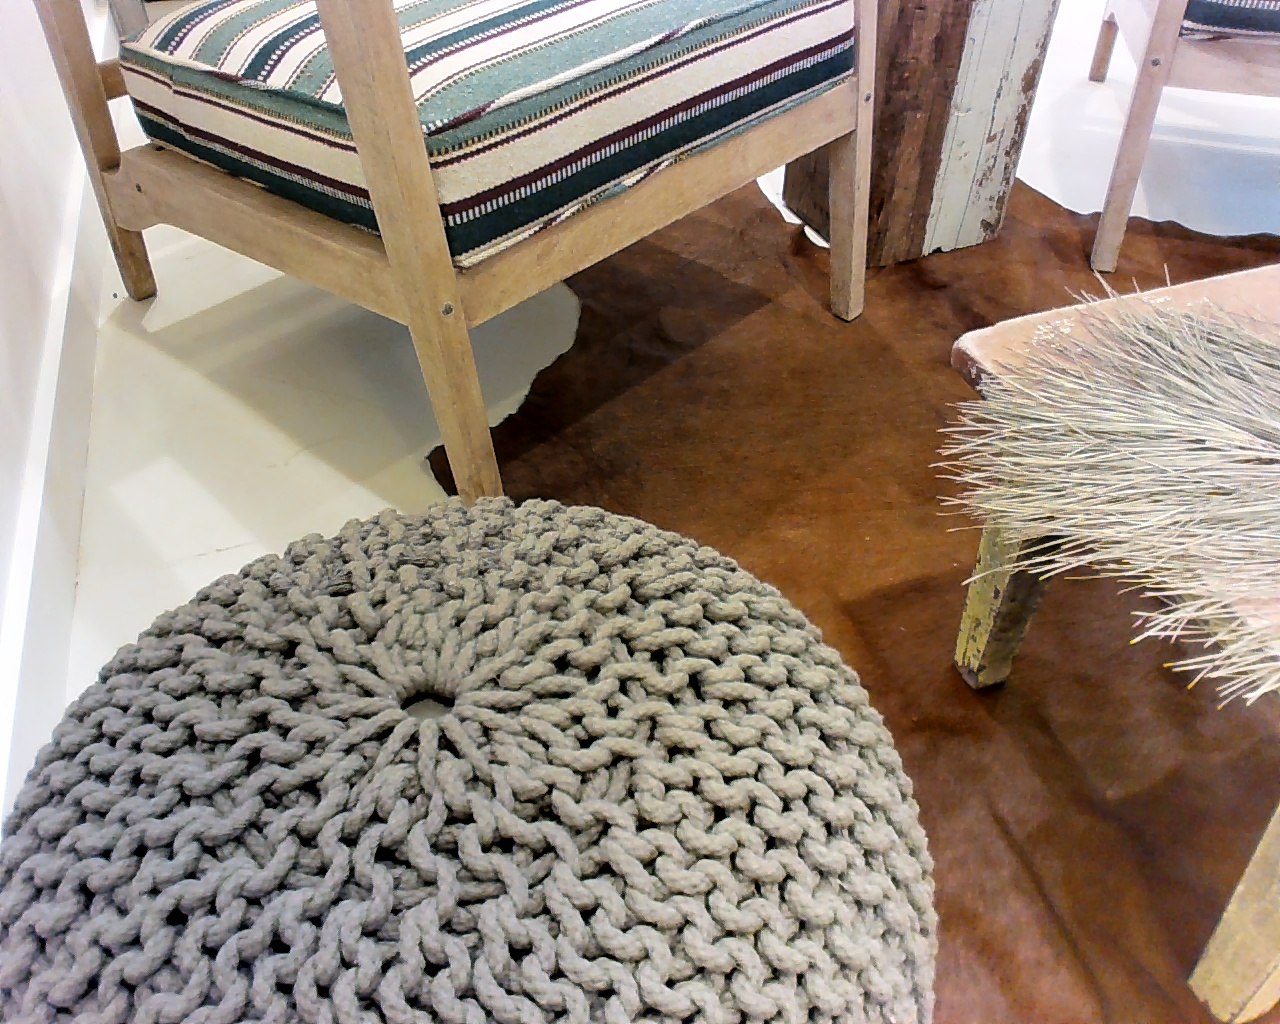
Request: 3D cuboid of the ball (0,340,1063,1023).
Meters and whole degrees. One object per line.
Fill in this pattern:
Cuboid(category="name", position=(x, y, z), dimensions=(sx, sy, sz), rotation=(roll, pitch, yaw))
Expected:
Cuboid(category="ball", position=(-0.100, 0.200, 0.630), dimensions=(0.540, 0.340, 0.520), rotation=(3, 43, 4))

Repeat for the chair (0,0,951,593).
Cuboid(category="chair", position=(-0.210, -0.570, 1.170), dimensions=(0.830, 0.770, 0.700), rotation=(32, 52, 31))

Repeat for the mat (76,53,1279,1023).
Cuboid(category="mat", position=(0.550, -0.050, 1.150), dimensions=(2.100, 0.060, 1.790), rotation=(-12, 44, -12))
